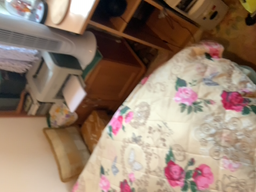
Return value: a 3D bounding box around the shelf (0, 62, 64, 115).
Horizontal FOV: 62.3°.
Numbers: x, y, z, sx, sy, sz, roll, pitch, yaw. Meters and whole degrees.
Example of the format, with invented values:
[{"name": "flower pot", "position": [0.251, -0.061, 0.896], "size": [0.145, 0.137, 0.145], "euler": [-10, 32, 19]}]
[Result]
[{"name": "shelf", "position": [-0.920, -0.050, 1.610], "size": [0.320, 0.720, 0.240], "euler": [-53, 53, 28]}]
